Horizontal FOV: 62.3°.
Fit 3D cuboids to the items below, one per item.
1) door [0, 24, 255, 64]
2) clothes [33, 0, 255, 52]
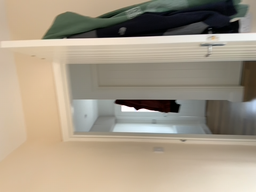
[{"bbox_3d":[0.370,-0.310,1.390,0.770,2.060,0.100,-35,-55,-83],"label":"door"},{"bbox_3d":[0.120,-0.480,1.420,0.700,1.190,0.270,-45,-45,-82],"label":"clothes"}]
